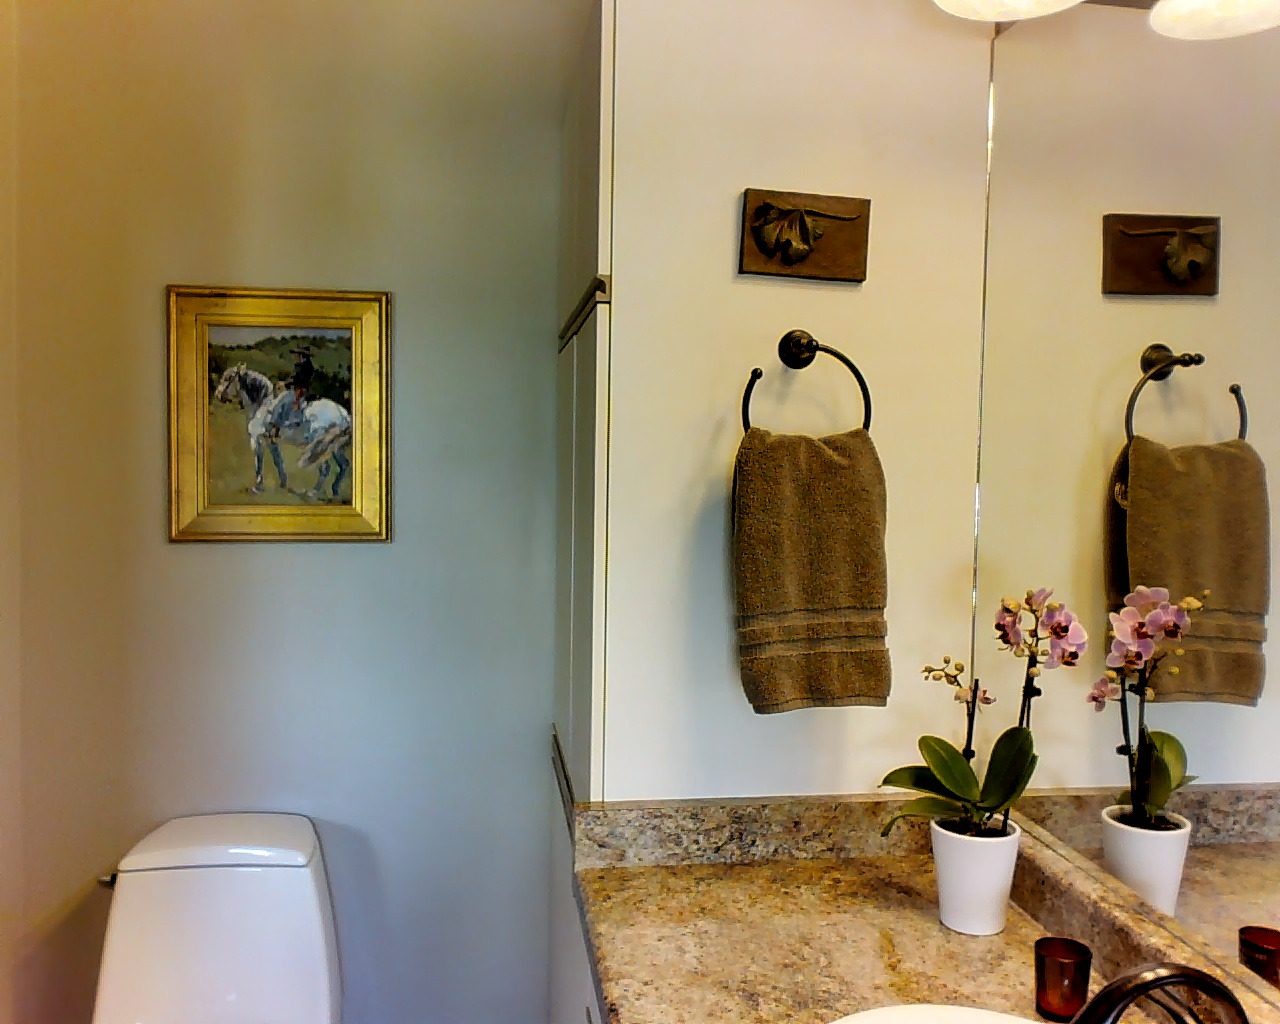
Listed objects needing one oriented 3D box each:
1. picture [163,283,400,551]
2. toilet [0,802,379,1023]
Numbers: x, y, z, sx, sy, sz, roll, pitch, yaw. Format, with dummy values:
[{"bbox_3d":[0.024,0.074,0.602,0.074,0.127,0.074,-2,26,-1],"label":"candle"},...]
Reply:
[{"bbox_3d":[-0.700,-0.180,2.110,0.440,0.510,0.030,1,3,-9],"label":"picture"},{"bbox_3d":[-0.740,0.970,1.790,0.530,0.730,0.750,1,3,-9],"label":"toilet"}]
